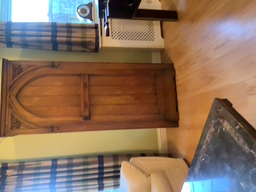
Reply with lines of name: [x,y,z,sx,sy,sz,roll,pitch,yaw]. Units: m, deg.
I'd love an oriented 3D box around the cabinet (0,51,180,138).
cabinet: [-0.390,-0.010,2.390,0.430,1.830,0.830,145,123,-75]
